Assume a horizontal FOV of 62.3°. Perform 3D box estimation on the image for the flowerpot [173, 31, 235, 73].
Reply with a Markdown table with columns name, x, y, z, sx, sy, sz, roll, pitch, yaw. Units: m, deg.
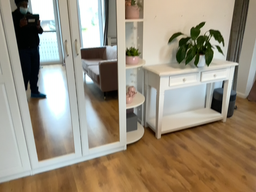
| name | x | y | z | sx | sy | sz | roll | pitch | yaw |
| --- | --- | --- | --- | --- | --- | --- | --- | --- | --- |
| flowerpot | 0.910 | -0.570 | 2.650 | 0.390 | 0.400 | 0.610 | -8 | 23 | -19 |
